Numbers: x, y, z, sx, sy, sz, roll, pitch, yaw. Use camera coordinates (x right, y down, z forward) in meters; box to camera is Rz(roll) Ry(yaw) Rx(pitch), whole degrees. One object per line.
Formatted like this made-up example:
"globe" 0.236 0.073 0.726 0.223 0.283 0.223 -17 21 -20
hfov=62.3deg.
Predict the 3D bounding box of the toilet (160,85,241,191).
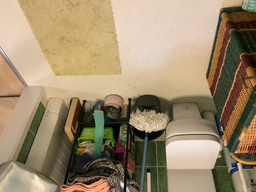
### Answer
"toilet" 0.450 0.420 1.570 0.370 0.770 0.620 -3 139 8

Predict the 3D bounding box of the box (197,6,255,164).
"box" 0.680 -0.060 1.070 0.460 0.620 0.510 0 139 4
